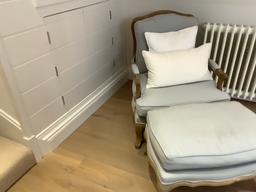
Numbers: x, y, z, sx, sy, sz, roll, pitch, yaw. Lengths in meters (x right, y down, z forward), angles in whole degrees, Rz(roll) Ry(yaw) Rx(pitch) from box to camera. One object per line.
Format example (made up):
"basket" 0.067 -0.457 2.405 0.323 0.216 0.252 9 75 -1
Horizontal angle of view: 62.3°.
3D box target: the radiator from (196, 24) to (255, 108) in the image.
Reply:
"radiator" 1.150 -0.280 2.110 0.800 0.750 0.160 14 34 24

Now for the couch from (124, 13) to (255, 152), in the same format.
"couch" 0.400 -0.190 1.960 0.760 0.900 0.940 -5 32 -4
